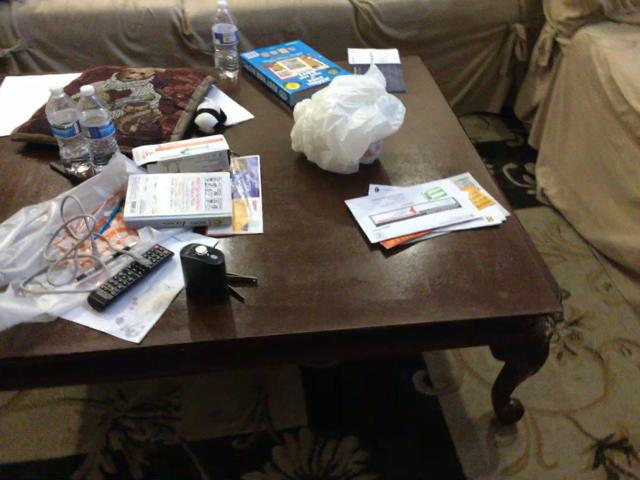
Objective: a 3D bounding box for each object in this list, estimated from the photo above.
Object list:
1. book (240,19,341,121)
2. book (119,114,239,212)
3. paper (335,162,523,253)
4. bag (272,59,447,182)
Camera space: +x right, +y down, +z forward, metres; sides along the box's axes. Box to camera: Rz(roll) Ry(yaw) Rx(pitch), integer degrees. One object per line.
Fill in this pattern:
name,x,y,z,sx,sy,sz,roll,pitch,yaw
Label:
book,-0.090,-0.480,1.620,0.220,0.310,0.080,15,-55,-26
book,-0.300,-0.170,1.260,0.230,0.140,0.150,-4,-49,-10
paper,0.220,-0.070,1.220,0.330,0.230,0.060,1,-52,-16
bag,0.070,-0.270,1.270,0.320,0.250,0.150,-5,-49,-10
